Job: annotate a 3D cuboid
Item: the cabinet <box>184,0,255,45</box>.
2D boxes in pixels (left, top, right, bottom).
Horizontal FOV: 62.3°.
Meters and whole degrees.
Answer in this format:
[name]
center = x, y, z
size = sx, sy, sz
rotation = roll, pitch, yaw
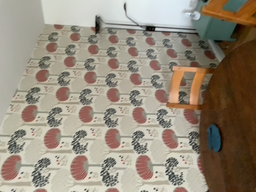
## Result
[cabinet]
center = 1.140, -1.290, 2.470
size = 1.190, 0.480, 0.610
rotation = 99, 170, -46
